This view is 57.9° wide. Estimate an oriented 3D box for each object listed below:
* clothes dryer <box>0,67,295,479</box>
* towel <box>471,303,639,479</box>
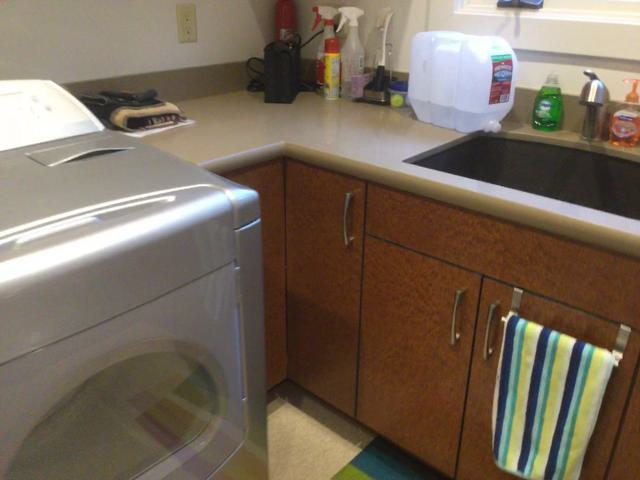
[{"bbox_3d":[-0.580,0.260,1.240,0.740,1.070,0.750,20,31,35],"label":"clothes dryer"},{"bbox_3d":[0.480,0.360,1.210,0.270,0.390,0.070,20,31,35],"label":"towel"}]
